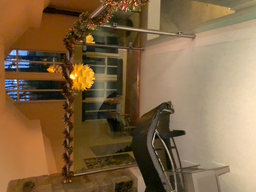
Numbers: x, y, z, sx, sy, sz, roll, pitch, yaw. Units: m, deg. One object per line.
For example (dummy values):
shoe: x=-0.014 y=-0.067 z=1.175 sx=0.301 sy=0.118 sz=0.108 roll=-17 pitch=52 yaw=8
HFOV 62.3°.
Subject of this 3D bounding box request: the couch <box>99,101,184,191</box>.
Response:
couch: x=0.140 y=0.850 z=2.460 sx=0.600 sy=0.670 sz=1.470 roll=143 pitch=123 yaw=-60
